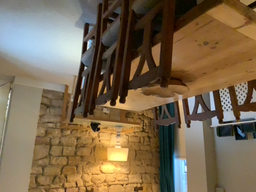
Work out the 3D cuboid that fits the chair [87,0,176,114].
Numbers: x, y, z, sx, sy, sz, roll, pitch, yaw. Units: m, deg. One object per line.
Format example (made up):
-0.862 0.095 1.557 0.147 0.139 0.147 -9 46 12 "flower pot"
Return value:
0.020 -0.400 1.690 0.490 0.990 0.460 10 163 -31 "chair"
